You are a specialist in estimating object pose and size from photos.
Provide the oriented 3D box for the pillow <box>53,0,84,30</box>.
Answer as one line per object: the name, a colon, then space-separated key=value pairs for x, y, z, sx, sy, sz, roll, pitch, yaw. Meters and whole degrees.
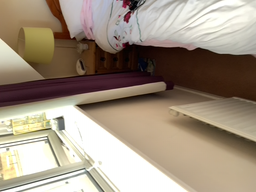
pillow: x=-0.570 y=-0.930 z=2.000 sx=0.490 sy=0.130 sz=0.570 roll=25 pitch=115 yaw=52
